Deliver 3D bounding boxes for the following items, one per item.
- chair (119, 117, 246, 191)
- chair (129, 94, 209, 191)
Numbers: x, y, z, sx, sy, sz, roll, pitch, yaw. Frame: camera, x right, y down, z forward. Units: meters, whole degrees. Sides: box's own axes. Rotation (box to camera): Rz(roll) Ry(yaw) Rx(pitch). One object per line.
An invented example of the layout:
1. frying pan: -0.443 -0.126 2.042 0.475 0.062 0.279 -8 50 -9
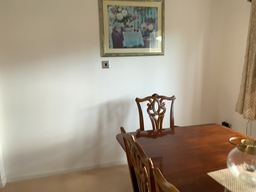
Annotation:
1. chair: 0.290 0.690 1.370 0.590 0.970 0.480 -3 11 -14
2. chair: 0.390 0.530 2.260 0.590 0.990 0.610 -4 11 -16
